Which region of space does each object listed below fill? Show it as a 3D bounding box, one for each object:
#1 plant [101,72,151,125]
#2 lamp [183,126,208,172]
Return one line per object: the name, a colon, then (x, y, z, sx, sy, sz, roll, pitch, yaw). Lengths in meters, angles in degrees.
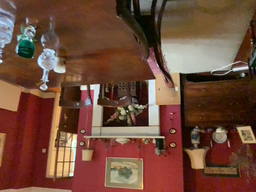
plant: (-0.020, 0.080, 4.130, 0.820, 0.880, 0.500, -5, 164, 21)
lamp: (1.170, 0.920, 3.690, 0.360, 0.720, 0.430, -4, 164, 18)
